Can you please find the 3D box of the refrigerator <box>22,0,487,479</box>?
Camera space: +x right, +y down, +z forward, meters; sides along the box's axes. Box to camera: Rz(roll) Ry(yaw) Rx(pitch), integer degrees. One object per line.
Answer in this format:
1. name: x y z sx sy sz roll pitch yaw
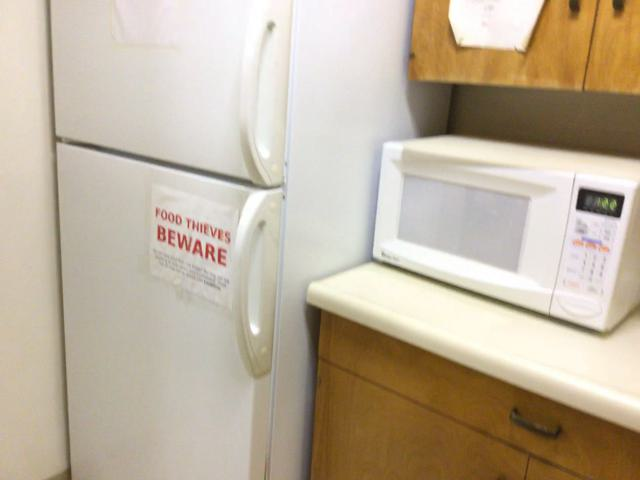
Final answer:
1. refrigerator: -0.190 0.030 1.650 0.820 1.690 0.830 17 20 37
